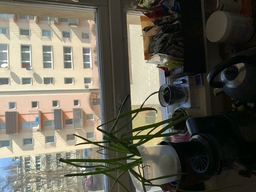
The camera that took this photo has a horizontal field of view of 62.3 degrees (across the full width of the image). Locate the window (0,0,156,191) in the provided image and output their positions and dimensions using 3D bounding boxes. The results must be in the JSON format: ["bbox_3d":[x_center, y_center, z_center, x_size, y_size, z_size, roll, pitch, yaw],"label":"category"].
[{"bbox_3d":[-0.460,0.000,1.100,0.260,1.150,1.100,173,94,-69],"label":"window"}]
